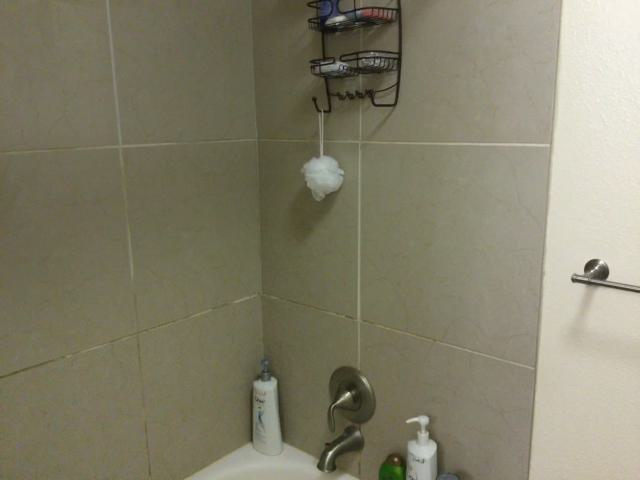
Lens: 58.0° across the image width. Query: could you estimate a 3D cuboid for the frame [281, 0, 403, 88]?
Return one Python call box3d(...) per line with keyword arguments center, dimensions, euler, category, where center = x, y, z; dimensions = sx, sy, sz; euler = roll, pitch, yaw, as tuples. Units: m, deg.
box3d(center=(0.050, -0.520, 1.470), dimensions=(0.300, 0.230, 0.130), euler=(9, 14, 44), category="frame")
